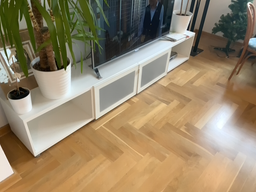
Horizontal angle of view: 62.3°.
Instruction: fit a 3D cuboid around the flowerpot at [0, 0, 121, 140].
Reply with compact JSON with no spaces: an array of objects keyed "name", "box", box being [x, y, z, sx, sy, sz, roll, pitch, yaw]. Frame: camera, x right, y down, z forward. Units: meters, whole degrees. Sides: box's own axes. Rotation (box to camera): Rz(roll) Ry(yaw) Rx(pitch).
[{"name":"flowerpot","box":[-0.520,-0.640,1.200,0.660,1.550,0.710,31,45,31]}]
